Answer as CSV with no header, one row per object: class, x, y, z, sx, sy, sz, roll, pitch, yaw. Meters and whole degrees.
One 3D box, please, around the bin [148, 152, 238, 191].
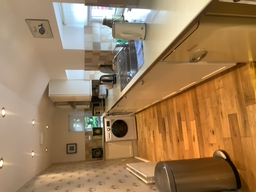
bin,0.600,0.760,2.020,0.360,0.700,0.390,135,133,-72
